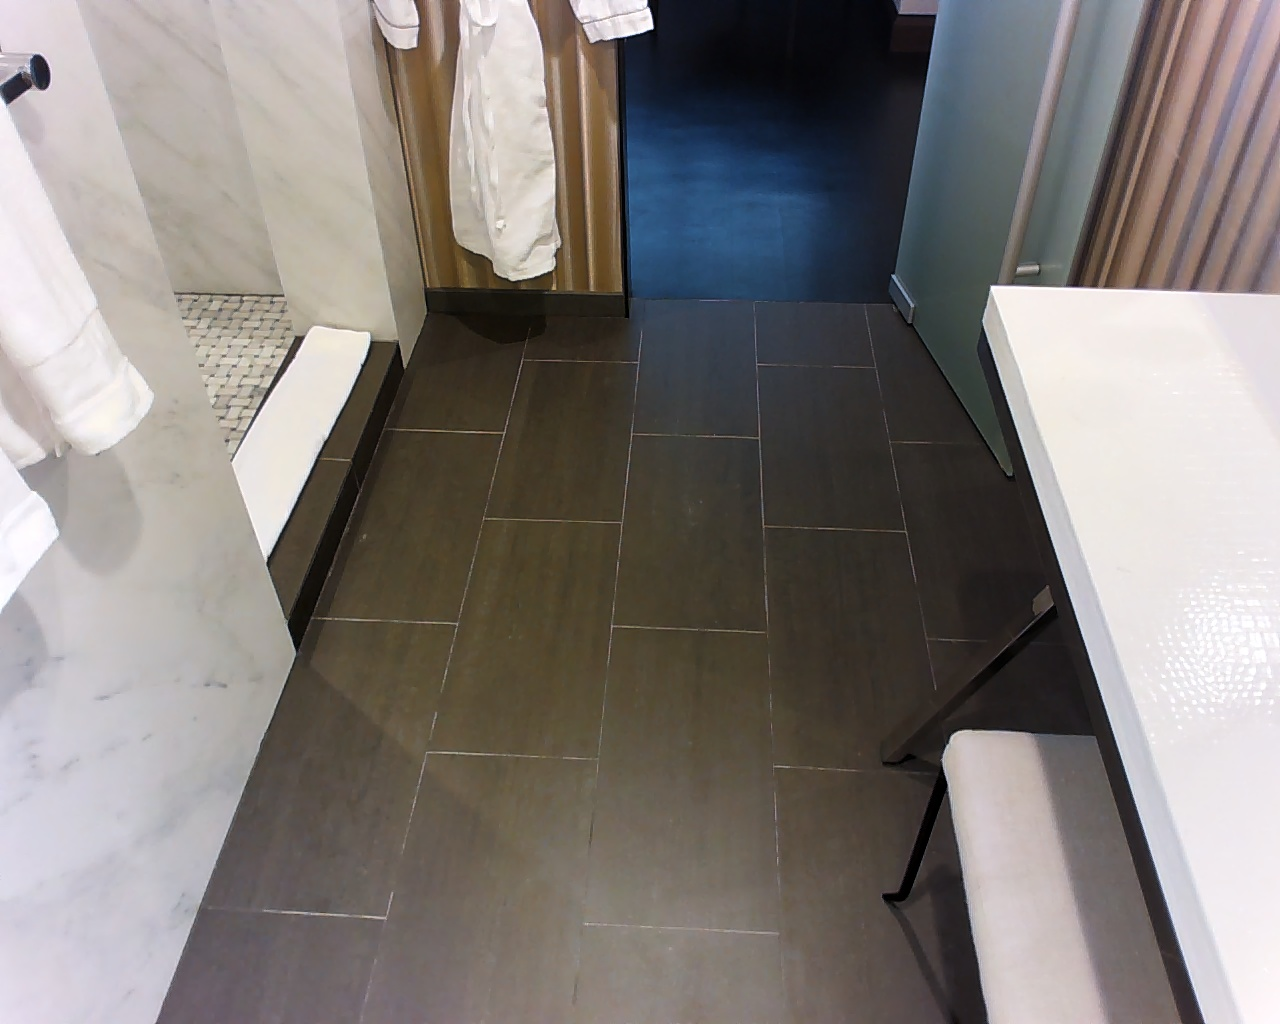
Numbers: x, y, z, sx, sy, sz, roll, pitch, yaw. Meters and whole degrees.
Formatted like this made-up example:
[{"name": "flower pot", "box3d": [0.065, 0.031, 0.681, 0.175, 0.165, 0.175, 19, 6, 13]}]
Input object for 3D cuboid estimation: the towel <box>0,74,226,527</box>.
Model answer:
[{"name": "towel", "box3d": [-0.590, -0.200, 1.090, 0.170, 0.420, 0.170, 2, 42, 3]}]
